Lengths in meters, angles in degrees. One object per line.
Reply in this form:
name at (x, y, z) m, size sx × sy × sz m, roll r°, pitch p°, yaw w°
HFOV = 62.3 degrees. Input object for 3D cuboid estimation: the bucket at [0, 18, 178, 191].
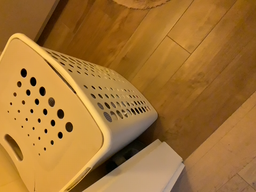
bucket at (-0.150, 0.060, 0.840) m, size 0.460 × 0.580 × 0.350 m, roll 44°, pitch 107°, yaw 17°
